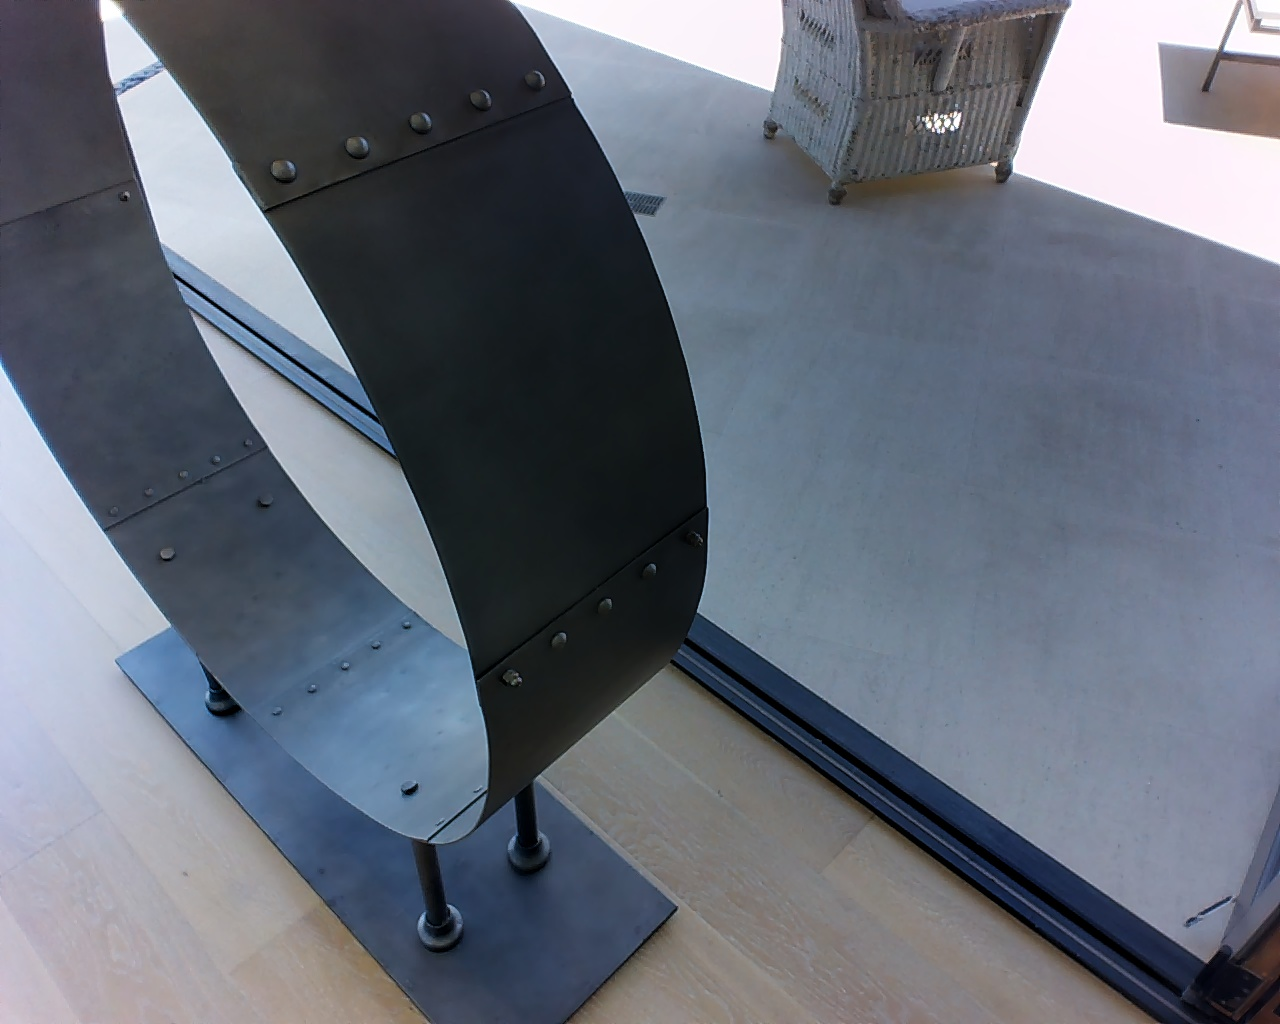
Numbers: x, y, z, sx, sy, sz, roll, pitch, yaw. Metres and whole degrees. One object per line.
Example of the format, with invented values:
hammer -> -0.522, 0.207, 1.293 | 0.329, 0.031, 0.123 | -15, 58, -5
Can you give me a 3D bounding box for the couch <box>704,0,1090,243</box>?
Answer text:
couch -> 0.840, -1.700, 3.590 | 0.910, 1.150, 0.840 | -17, 45, -18
